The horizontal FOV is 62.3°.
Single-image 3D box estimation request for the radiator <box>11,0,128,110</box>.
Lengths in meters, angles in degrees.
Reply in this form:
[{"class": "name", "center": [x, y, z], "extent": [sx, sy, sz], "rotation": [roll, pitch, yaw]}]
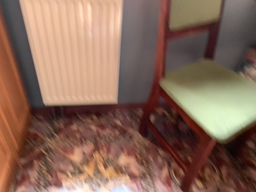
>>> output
[{"class": "radiator", "center": [-0.250, -0.240, 1.060], "extent": [0.450, 0.680, 0.170], "rotation": [-1, 40, -7]}]
